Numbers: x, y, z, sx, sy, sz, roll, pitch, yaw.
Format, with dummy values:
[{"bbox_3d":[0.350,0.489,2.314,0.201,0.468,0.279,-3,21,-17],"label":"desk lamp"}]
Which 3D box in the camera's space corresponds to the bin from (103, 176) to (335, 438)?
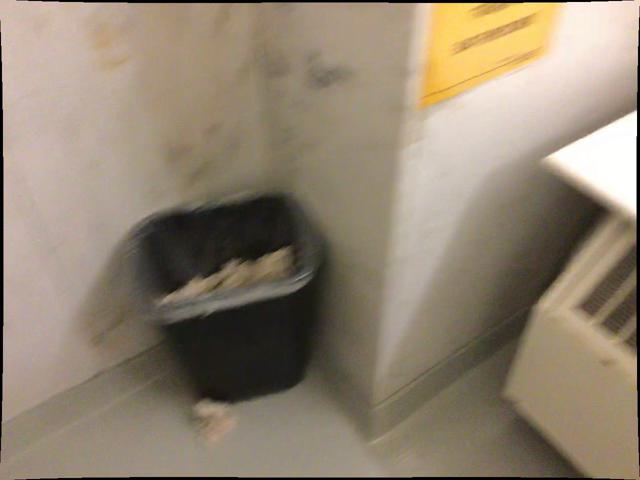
[{"bbox_3d":[-0.220,0.160,1.380,0.440,0.460,0.360,-7,44,-8],"label":"bin"}]
